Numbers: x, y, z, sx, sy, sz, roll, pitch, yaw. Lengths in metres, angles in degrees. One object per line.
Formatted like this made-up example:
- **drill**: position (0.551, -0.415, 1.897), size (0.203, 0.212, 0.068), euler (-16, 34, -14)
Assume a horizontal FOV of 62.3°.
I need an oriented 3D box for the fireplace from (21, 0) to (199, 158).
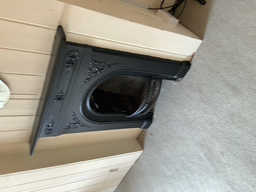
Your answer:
- **fireplace**: position (-0.150, -0.040, 1.500), size (0.310, 0.950, 0.920), euler (57, 132, 37)
